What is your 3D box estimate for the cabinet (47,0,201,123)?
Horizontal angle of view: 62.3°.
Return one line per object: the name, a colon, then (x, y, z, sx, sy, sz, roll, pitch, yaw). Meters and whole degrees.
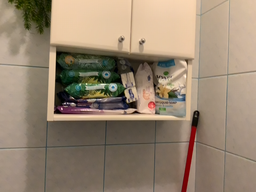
cabinet: (-0.010, -0.340, 0.790, 0.510, 0.850, 0.210, 2, 0, -18)
